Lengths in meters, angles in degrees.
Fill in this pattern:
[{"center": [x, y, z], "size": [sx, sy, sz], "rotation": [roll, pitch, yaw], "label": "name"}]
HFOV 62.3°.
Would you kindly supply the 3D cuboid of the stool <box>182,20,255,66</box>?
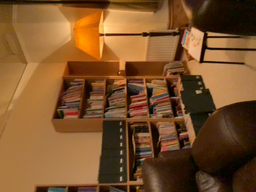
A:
[{"center": [0.770, -0.470, 1.850], "size": [0.370, 0.470, 0.280], "rotation": [-94, 5, -57], "label": "stool"}]
